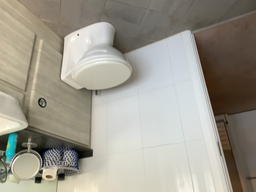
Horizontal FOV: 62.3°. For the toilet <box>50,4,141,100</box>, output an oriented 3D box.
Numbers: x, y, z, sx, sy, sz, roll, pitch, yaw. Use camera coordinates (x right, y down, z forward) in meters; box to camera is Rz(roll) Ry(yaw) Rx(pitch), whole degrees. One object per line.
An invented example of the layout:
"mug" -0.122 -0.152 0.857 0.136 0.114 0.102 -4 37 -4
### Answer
"toilet" -0.240 -0.310 1.660 0.520 0.450 0.410 -16 151 22
